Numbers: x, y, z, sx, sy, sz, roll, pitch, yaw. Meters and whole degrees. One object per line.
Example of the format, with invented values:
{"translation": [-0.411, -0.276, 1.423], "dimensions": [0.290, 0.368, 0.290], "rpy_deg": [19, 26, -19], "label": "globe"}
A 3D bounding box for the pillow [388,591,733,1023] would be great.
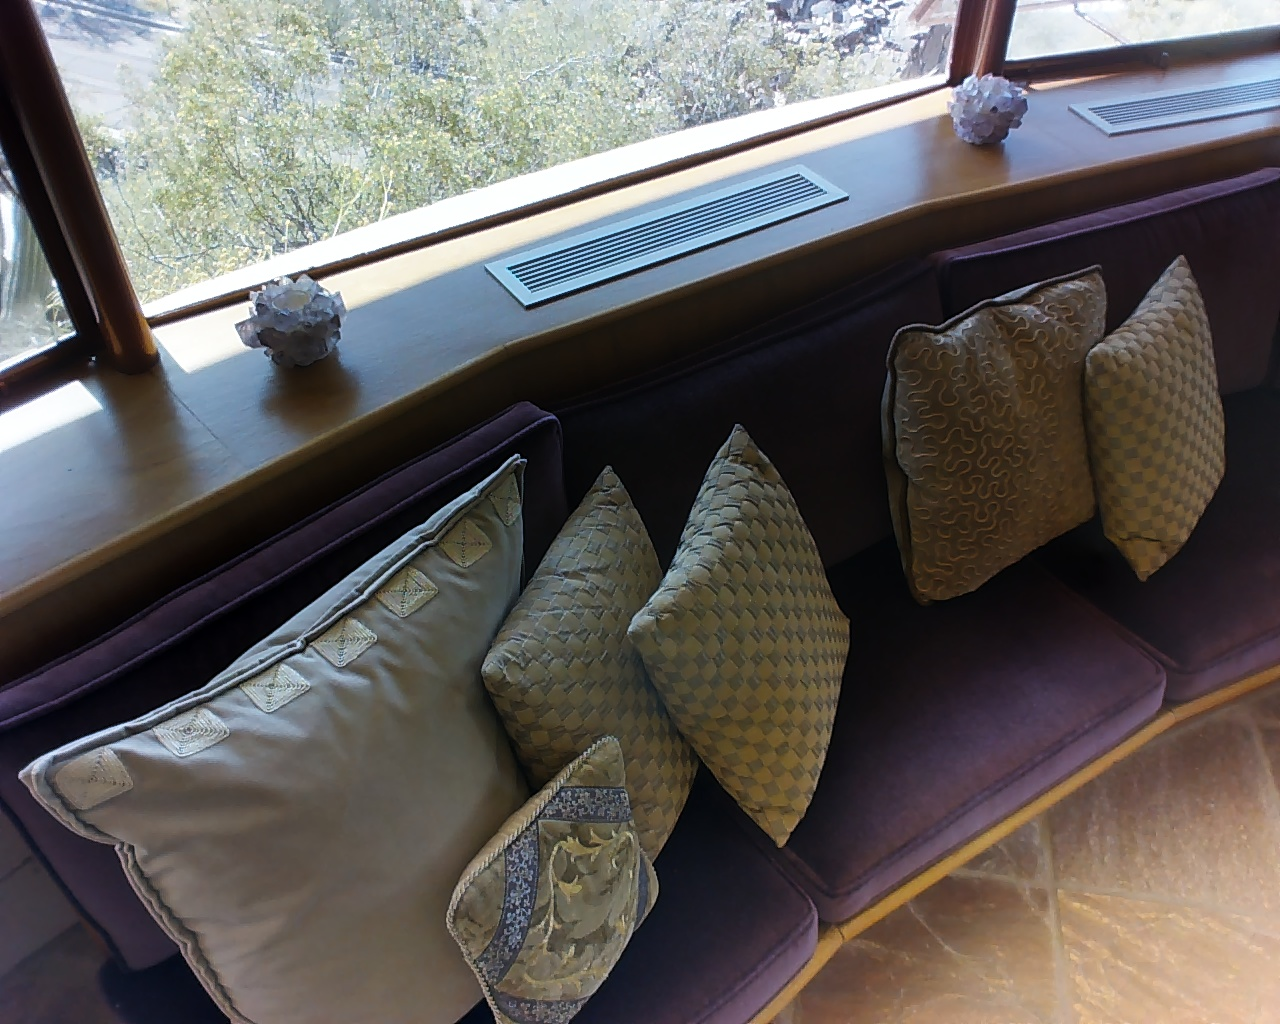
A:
{"translation": [-0.060, 0.370, 1.210], "dimensions": [0.230, 0.330, 0.410], "rpy_deg": [11, 44, 13], "label": "pillow"}

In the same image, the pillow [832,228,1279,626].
{"translation": [0.650, -0.150, 1.750], "dimensions": [0.530, 0.400, 0.330], "rpy_deg": [-20, 46, -19], "label": "pillow"}

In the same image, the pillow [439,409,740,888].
{"translation": [-0.040, 0.170, 1.440], "dimensions": [0.190, 0.380, 0.480], "rpy_deg": [15, 45, 17], "label": "pillow"}

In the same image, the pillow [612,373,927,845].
{"translation": [0.210, 0.130, 1.480], "dimensions": [0.210, 0.380, 0.500], "rpy_deg": [-2, 51, 30], "label": "pillow"}

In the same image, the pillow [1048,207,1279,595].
{"translation": [0.940, -0.190, 1.820], "dimensions": [0.200, 0.400, 0.490], "rpy_deg": [19, 65, 43], "label": "pillow"}

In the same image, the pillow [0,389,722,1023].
{"translation": [-0.260, 0.300, 1.230], "dimensions": [0.350, 0.510, 0.720], "rpy_deg": [26, 49, 27], "label": "pillow"}
